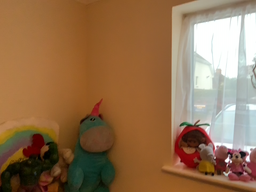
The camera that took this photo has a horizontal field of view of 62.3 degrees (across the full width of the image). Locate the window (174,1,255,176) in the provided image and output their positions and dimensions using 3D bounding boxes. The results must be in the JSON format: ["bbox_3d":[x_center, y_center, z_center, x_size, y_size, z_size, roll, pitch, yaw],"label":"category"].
[{"bbox_3d":[0.790,-0.040,1.090,1.180,0.950,0.030,0,0,37],"label":"window"}]

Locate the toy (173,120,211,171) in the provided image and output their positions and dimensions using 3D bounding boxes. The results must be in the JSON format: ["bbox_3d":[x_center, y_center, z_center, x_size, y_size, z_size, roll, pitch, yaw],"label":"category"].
[{"bbox_3d":[0.390,0.290,1.290,0.190,0.260,0.120,0,0,37],"label":"toy"}]

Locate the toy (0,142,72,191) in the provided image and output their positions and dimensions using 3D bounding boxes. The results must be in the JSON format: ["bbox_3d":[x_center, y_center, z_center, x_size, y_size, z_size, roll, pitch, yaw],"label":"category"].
[{"bbox_3d":[-0.550,0.530,1.290,0.140,0.410,0.400,0,0,38],"label":"toy"}]
